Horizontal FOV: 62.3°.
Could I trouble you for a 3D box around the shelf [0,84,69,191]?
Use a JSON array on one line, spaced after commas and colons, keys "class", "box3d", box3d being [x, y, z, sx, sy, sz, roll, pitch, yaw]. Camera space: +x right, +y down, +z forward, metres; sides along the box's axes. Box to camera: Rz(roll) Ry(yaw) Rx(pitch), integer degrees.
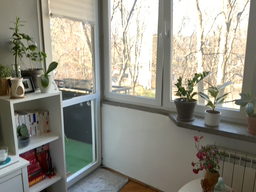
[{"class": "shelf", "box3d": [-0.770, 0.540, 1.730, 0.330, 1.200, 0.420, 9, 15, 32]}]
